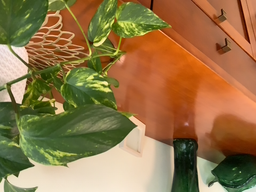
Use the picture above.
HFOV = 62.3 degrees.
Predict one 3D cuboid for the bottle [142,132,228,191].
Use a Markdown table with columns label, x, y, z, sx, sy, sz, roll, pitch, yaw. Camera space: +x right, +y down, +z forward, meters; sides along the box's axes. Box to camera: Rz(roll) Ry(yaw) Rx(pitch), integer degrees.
| label | x | y | z | sx | sy | sz | roll | pitch | yaw |
| --- | --- | --- | --- | --- | --- | --- | --- | --- | --- |
| bottle | 0.240 | 0.350 | 0.870 | 0.340 | 0.290 | 0.150 | 25 | 146 | -29 |
